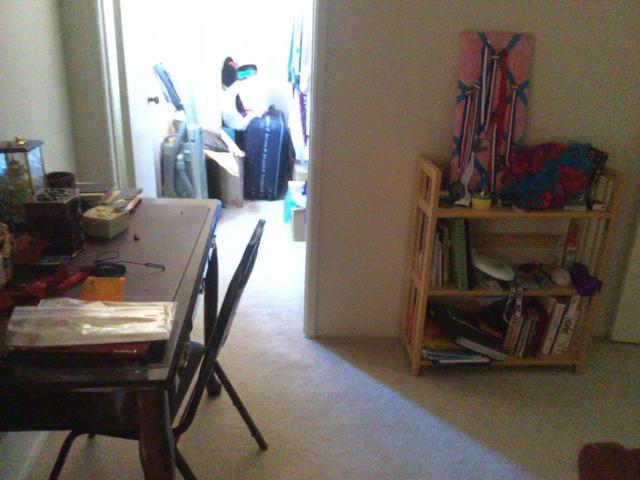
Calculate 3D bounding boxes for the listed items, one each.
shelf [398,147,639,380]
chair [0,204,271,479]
[{"bbox_3d":[0.750,0.080,2.250,0.800,0.810,0.330,-2,20,-5],"label":"shelf"},{"bbox_3d":[-0.430,0.320,1.490,0.580,0.710,0.440,-2,20,-5],"label":"chair"}]
